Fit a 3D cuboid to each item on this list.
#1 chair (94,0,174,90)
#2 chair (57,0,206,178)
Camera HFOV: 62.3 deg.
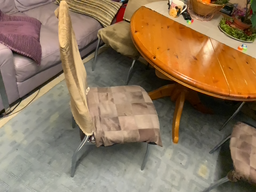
[{"bbox_3d":[0.060,-0.640,1.970,0.410,0.960,0.570,28,46,12],"label":"chair"},{"bbox_3d":[-0.100,0.040,1.250,0.570,0.970,0.410,-2,48,-18],"label":"chair"}]
